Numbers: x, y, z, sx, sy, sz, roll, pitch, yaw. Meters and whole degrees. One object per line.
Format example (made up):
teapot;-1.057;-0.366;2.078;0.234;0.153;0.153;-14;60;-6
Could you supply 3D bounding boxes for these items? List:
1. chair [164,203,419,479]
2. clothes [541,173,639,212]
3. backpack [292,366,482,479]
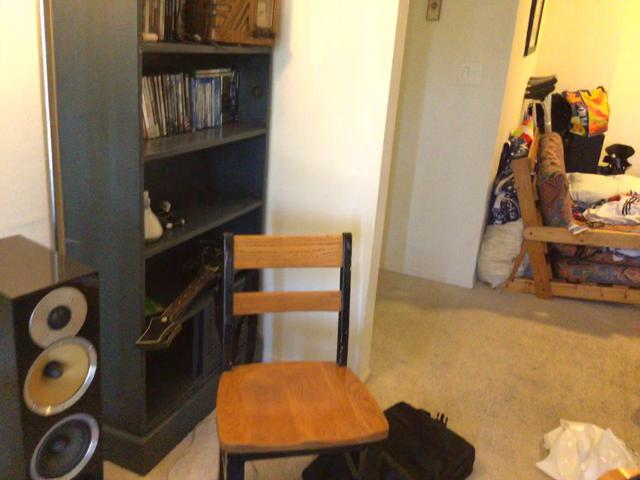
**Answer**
chair;-0.070;0.420;1.660;0.510;0.830;0.550;-13;25;-7
clothes;1.780;-0.320;3.820;0.560;0.140;0.490;2;19;25
backpack;0.240;0.700;1.970;0.540;0.230;0.370;-21;23;-40
